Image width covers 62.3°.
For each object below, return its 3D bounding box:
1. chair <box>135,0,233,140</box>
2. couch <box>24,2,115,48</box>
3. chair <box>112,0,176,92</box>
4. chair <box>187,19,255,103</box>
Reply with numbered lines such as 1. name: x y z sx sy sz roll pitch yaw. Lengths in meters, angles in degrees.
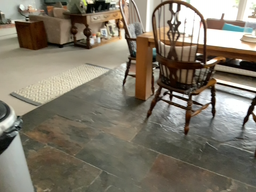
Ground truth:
1. chair: 0.500 -0.300 2.060 0.560 1.140 0.640 20 33 33
2. couch: -1.400 -1.970 5.600 1.130 0.820 2.040 16 31 27
3. chair: 0.210 -0.740 2.880 0.620 1.140 0.570 14 30 25
4. chair: 1.610 -0.420 2.630 1.510 0.850 0.510 19 32 32
